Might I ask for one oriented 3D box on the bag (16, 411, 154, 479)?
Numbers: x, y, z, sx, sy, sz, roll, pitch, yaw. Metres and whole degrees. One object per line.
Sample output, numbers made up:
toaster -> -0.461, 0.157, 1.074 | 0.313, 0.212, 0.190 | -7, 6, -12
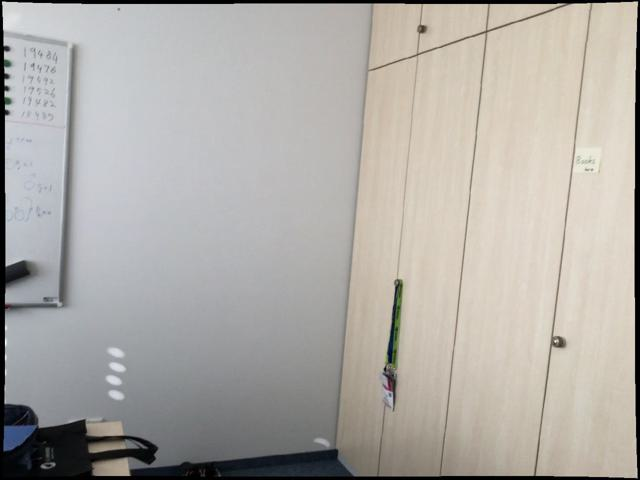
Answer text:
bag -> -0.659, 0.601, 1.640 | 0.330, 0.070, 0.320 | 1, 8, -22
